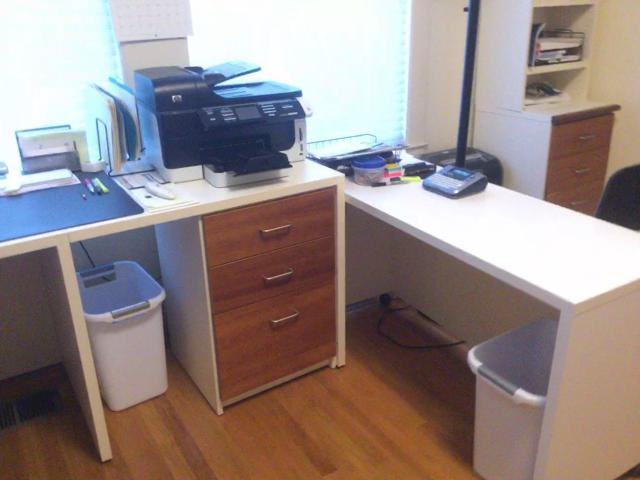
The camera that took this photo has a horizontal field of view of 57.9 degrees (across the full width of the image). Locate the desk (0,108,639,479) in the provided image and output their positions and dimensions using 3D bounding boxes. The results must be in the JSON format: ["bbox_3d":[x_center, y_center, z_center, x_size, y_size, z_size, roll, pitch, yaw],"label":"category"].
[{"bbox_3d":[-0.740,0.440,1.100,2.410,0.850,1.820,-15,28,-32],"label":"desk"}]

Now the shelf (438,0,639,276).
[{"bbox_3d":[1.100,-1.000,2.610,0.720,2.170,0.550,-15,28,-32],"label":"shelf"}]

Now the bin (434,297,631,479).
[{"bbox_3d":[0.560,0.440,1.560,0.380,0.410,0.270,-15,28,-33],"label":"bin"}]

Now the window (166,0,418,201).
[{"bbox_3d":[-0.050,-1.040,2.110,1.050,1.670,0.120,-15,28,-32],"label":"window"}]

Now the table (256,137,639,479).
[{"bbox_3d":[0.400,0.180,1.840,0.700,0.690,1.210,-14,28,-31],"label":"table"}]

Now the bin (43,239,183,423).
[{"bbox_3d":[-0.700,0.280,1.950,0.280,0.390,0.450,-15,28,-32],"label":"bin"}]
